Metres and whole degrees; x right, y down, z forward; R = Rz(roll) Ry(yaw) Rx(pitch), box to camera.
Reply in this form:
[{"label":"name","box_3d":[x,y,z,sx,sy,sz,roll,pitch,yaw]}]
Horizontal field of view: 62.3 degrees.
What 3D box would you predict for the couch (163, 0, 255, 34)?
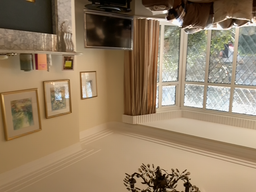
[{"label":"couch","box_3d":[1.520,-1.450,3.160,1.660,0.850,0.990,8,-167,34]}]
